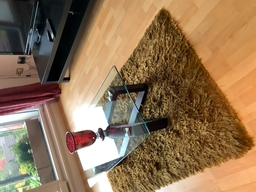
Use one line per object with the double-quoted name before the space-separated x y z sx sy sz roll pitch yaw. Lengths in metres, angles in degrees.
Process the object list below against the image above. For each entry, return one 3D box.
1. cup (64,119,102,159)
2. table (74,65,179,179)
"cup" -0.320 0.300 1.500 0.160 0.170 0.190 -54 55 42
"table" -0.090 0.240 1.690 0.910 0.290 0.480 -51 57 43
